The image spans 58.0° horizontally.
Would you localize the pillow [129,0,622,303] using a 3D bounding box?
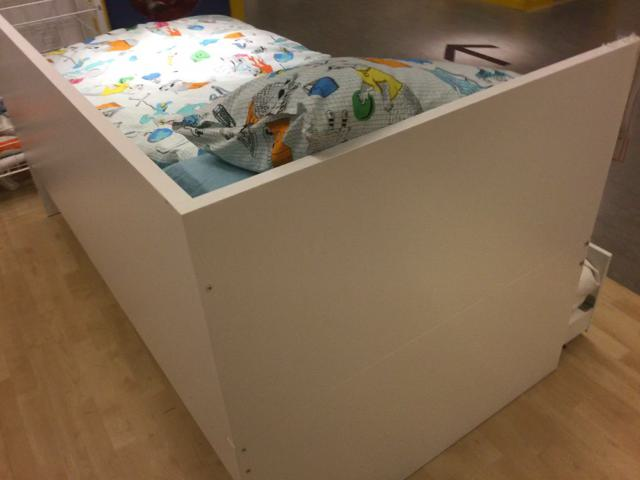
[{"bbox_3d":[0.100,-0.290,1.190,0.750,0.320,0.550,-23,40,-25],"label":"pillow"}]
